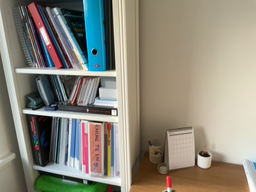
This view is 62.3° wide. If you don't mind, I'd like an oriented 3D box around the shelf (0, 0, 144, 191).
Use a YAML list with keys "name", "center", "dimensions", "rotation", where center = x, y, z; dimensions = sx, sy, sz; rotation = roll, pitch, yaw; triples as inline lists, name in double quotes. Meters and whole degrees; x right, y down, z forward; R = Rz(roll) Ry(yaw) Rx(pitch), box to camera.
- name: "shelf"
  center: [-0.290, 0.150, 1.190]
  dimensions: [0.690, 1.880, 0.330]
  rotation: [3, 17, 16]
